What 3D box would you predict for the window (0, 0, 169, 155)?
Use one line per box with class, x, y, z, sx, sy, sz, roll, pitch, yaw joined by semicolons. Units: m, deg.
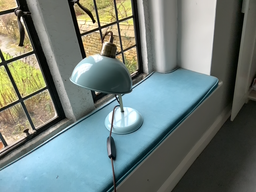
window;-0.300;-0.790;0.720;0.120;1.830;1.250;22;43;40
